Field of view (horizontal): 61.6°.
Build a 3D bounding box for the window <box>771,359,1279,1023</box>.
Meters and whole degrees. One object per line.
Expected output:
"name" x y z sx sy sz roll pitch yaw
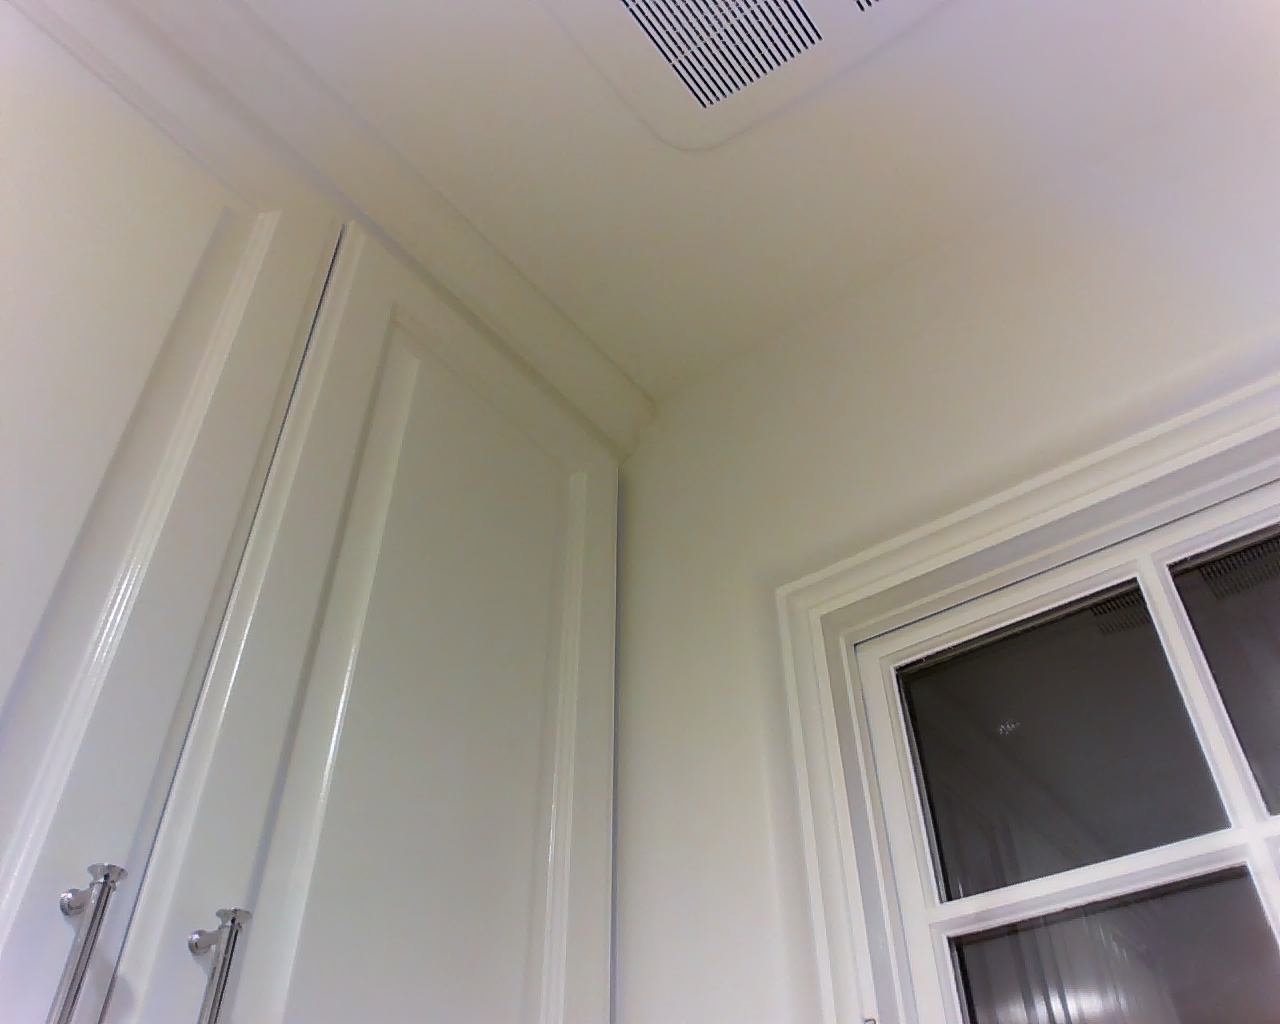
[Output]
"window" 0.360 0.190 0.670 0.510 0.510 0.150 -28 -49 27
